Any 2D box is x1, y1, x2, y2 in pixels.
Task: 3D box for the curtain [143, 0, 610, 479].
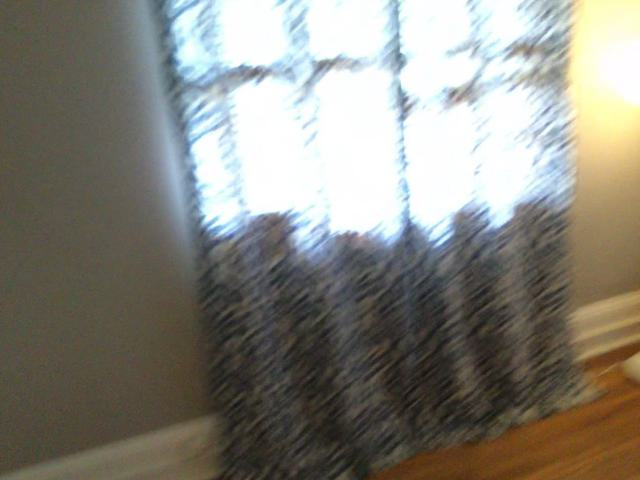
[{"bbox_3d":[0.270,-0.260,1.870,1.400,2.040,0.250,-13,20,-17],"label":"curtain"}]
